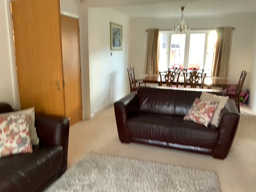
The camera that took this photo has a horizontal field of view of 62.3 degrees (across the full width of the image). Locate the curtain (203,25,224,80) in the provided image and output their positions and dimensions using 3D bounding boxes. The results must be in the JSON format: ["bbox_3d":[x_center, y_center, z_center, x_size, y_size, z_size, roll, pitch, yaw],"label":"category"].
[{"bbox_3d":[2.460,-1.250,6.140,0.450,1.510,0.190,4,12,18],"label":"curtain"}]
